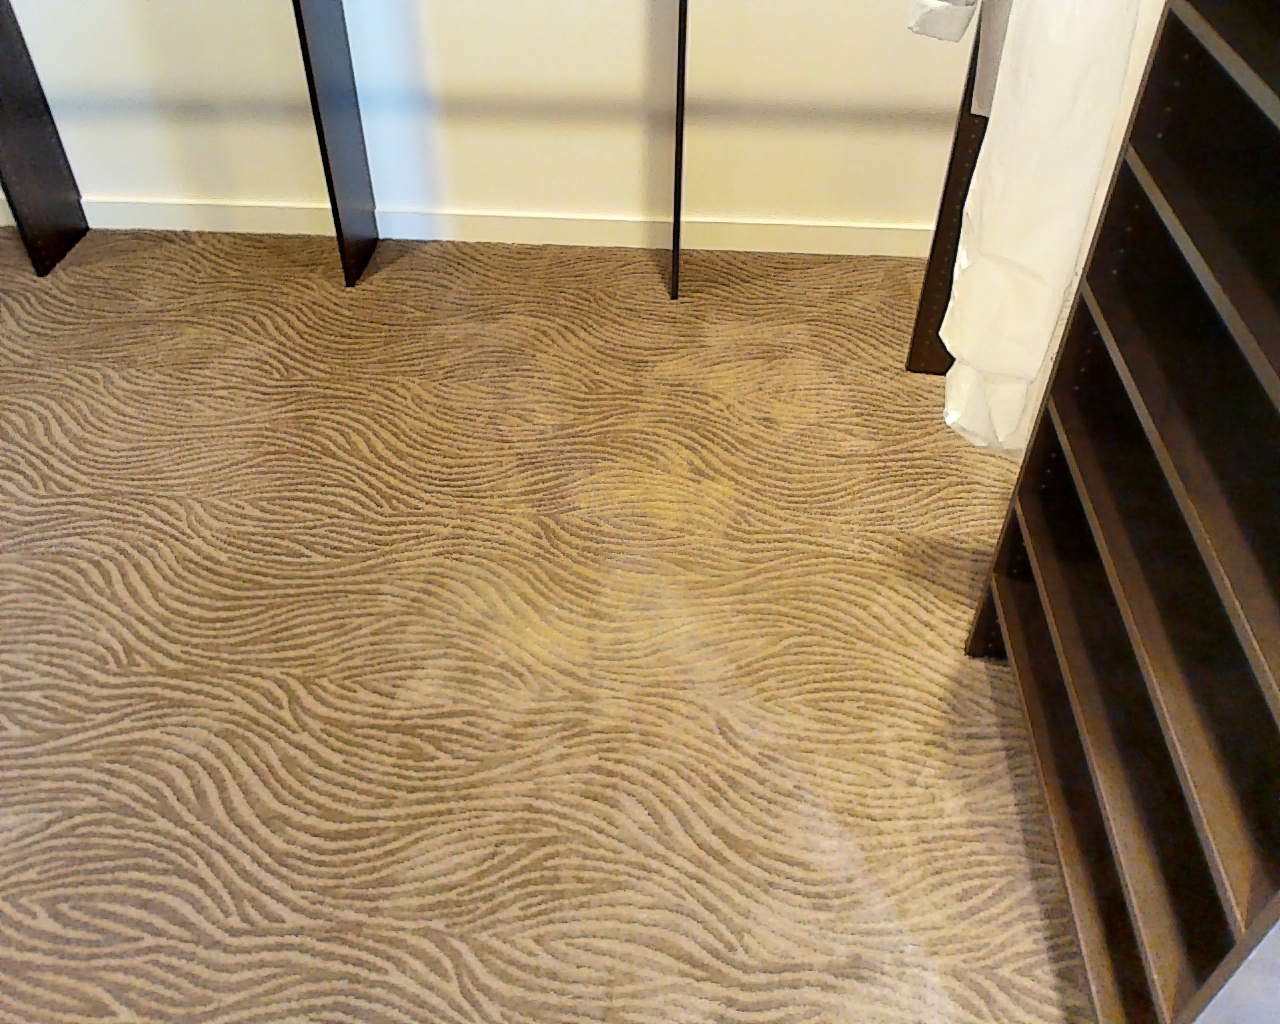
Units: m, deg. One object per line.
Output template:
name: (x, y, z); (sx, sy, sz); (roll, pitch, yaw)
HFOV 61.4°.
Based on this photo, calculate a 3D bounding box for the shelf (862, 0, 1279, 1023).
shelf: (0.650, -0.750, 1.480); (0.200, 2.220, 2.340); (3, 42, 3)
